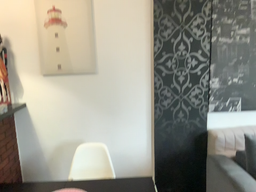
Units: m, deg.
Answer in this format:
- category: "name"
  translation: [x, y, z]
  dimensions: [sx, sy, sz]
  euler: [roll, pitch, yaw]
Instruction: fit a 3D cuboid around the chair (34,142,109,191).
- category: "chair"
  translation: [-0.380, 0.860, 1.700]
  dimensions: [0.420, 0.780, 0.600]
  euler: [-2, 10, -3]
